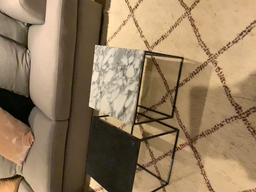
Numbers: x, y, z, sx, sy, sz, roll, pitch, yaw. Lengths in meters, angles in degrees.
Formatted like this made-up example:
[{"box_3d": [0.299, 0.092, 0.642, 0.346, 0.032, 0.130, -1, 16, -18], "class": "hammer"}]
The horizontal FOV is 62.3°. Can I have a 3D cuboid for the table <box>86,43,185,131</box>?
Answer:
[{"box_3d": [0.040, -0.080, 1.370, 0.420, 0.410, 0.430, 18, 105, 42], "class": "table"}]

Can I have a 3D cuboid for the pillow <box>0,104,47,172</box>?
[{"box_3d": [-1.050, 0.380, 1.870, 0.480, 0.400, 0.220, -31, 41, 2], "class": "pillow"}]

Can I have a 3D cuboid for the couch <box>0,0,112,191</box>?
[{"box_3d": [-1.030, 0.520, 2.080, 1.030, 0.930, 2.950, 19, 105, 42], "class": "couch"}]

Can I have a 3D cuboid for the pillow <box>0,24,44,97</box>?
[{"box_3d": [-1.060, -0.310, 1.860, 0.200, 0.410, 0.510, 21, 89, 42], "class": "pillow"}]

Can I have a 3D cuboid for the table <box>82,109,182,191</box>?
[{"box_3d": [0.020, 0.370, 1.410, 0.430, 0.430, 0.430, 18, 105, 42], "class": "table"}]
